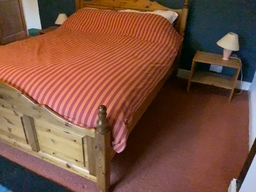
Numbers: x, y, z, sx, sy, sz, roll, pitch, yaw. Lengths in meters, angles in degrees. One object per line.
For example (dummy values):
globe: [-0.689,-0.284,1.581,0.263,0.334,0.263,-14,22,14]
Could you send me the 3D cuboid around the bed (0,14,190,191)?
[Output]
bed: [-0.440,-0.310,2.320,1.700,0.680,2.180,15,32,19]
